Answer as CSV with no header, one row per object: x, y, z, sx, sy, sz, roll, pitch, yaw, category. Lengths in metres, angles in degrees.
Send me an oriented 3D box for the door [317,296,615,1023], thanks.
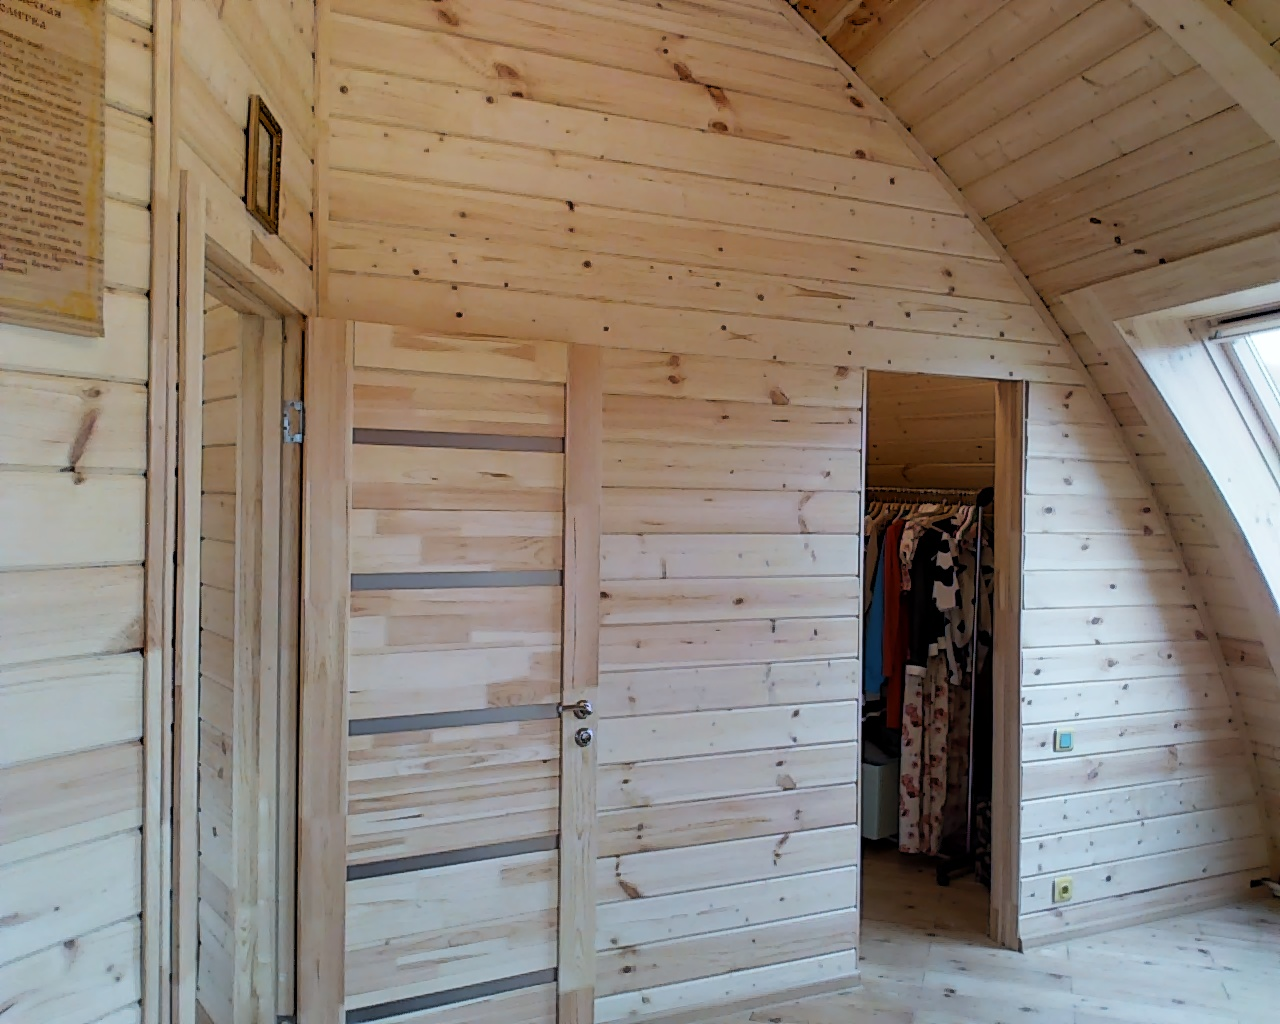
-0.430,0.520,2.800,0.790,2.071,0.050,0,0,-31,door
